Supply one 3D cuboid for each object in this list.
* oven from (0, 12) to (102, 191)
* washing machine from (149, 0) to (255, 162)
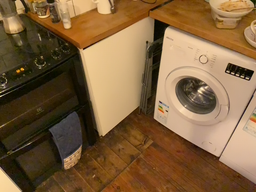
[{"bbox_3d":[-0.650,0.060,1.410,0.600,0.880,0.630,-35,55,-29],"label":"oven"},{"bbox_3d":[0.640,-0.160,1.580,0.680,0.920,0.620,-35,55,-29],"label":"washing machine"}]
